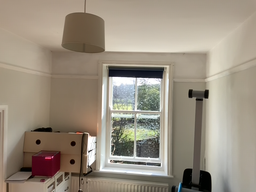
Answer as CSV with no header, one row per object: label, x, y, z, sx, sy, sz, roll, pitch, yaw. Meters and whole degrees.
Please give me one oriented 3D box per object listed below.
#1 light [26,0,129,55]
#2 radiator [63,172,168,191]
light,-0.280,-0.530,1.330,0.470,0.380,0.410,9,-89,9
radiator,-0.200,1.450,3.190,1.570,0.110,0.460,2,-90,6
